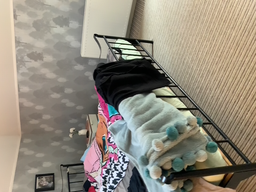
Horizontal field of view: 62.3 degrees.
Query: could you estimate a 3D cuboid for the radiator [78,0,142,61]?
[{"bbox_3d":[-0.240,-1.120,2.930,0.130,0.750,1.260,-117,35,-51],"label":"radiator"}]
